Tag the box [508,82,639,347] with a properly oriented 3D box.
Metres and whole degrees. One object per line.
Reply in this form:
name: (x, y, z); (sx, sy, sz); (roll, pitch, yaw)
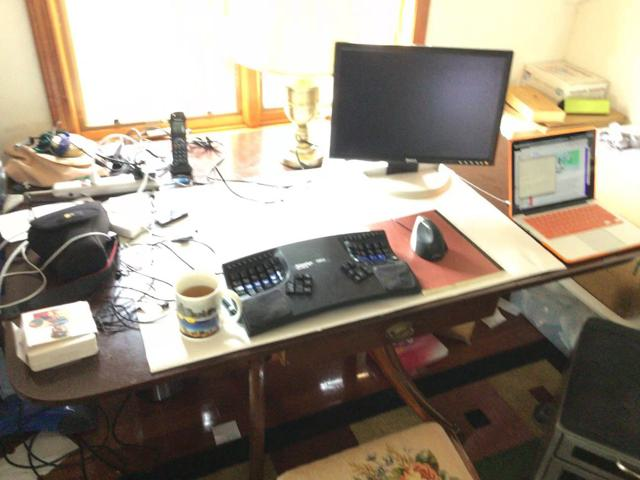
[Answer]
box: (1.060, -0.120, 1.940); (0.420, 0.580, 0.640); (-12, 36, -18)
